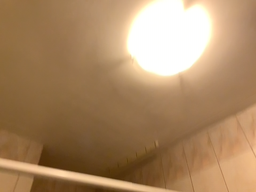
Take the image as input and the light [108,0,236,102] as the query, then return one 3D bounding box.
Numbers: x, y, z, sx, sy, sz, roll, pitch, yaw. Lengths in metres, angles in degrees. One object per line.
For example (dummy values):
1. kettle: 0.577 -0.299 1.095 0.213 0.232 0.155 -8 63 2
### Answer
1. light: 0.190 -0.230 0.970 0.410 0.380 0.130 -43 -148 23
